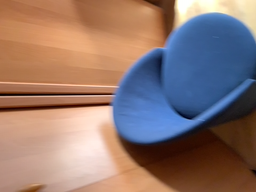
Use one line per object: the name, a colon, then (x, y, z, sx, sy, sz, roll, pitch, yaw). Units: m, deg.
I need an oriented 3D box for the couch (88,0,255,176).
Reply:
couch: (0.300, -0.120, 0.960, 0.490, 0.700, 0.560, 30, 112, 41)
